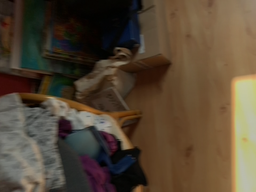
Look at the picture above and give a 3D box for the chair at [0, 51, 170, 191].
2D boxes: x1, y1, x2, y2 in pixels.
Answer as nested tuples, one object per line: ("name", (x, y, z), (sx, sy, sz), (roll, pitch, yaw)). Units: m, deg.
("chair", (-0.330, 0.300, 0.870), (0.700, 0.950, 0.590), (-8, 79, 28))
